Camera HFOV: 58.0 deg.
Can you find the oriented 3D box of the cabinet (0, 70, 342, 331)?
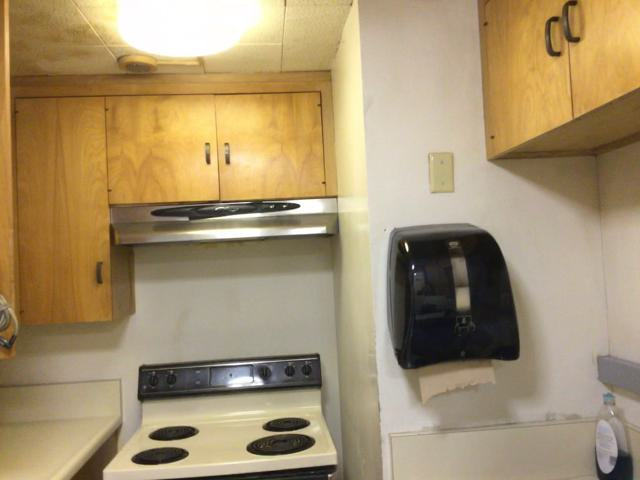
[{"bbox_3d":[-0.610,-0.160,2.420,1.310,0.960,0.360,-3,-4,-5],"label":"cabinet"}]

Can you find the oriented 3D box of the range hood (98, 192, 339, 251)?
[{"bbox_3d":[-0.380,-0.070,2.250,0.890,0.170,0.150,-3,-4,-5],"label":"range hood"}]
